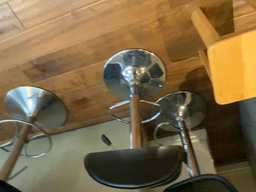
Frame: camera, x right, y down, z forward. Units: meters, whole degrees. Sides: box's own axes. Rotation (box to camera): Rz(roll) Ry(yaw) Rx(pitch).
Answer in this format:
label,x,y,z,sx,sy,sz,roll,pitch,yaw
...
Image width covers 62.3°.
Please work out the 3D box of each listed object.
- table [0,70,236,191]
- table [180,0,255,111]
label,x,y,z,sx,sy,sz,roll,pitch,yaw
table,-0.450,0.710,1.350,1.950,0.900,0.980,-12,129,11
table,0.460,-0.220,0.940,0.320,0.390,0.330,-16,128,14
